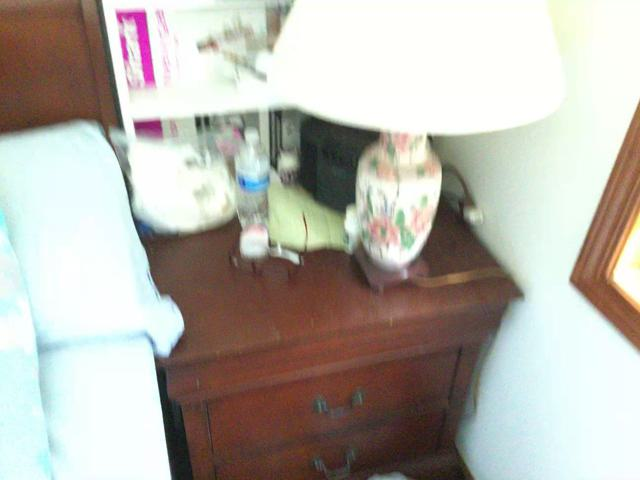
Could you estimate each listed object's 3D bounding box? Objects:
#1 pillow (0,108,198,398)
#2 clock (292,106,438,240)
[{"bbox_3d":[-0.620,0.020,0.860,0.790,0.230,0.430,-8,37,-17],"label":"pillow"},{"bbox_3d":[0.080,-0.150,1.210,0.210,0.160,0.250,-8,37,-17],"label":"clock"}]
